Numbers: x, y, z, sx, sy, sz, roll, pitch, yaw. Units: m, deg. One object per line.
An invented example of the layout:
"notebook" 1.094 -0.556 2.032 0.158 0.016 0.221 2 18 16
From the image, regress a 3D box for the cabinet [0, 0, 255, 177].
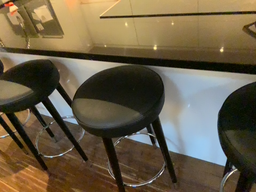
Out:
"cabinet" -0.090 -0.220 1.510 2.490 0.850 0.670 9 46 27
